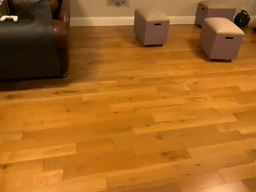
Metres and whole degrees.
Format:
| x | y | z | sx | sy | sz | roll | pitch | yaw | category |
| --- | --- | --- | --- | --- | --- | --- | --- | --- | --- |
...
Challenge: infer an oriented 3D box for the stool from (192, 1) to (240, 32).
| x | y | z | sx | sy | sz | roll | pitch | yaw | category |
| --- | --- | --- | --- | --- | --- | --- | --- | --- | --- |
| 1.850 | -1.690 | 4.510 | 0.700 | 0.520 | 0.430 | -4 | 36 | -11 | stool |

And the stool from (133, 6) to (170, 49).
| x | y | z | sx | sy | sz | roll | pitch | yaw | category |
| --- | --- | --- | --- | --- | --- | --- | --- | --- | --- |
| 0.370 | -1.190 | 3.640 | 0.380 | 0.530 | 0.600 | -6 | 37 | -15 | stool |

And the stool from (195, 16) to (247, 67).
| x | y | z | sx | sy | sz | roll | pitch | yaw | category |
| --- | --- | --- | --- | --- | --- | --- | --- | --- | --- |
| 1.380 | -0.850 | 3.270 | 0.410 | 0.530 | 0.670 | 3 | 35 | -2 | stool |

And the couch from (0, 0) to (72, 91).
| x | y | z | sx | sy | sz | roll | pitch | yaw | category |
| --- | --- | --- | --- | --- | --- | --- | --- | --- | --- |
| -1.330 | -1.020 | 3.000 | 0.980 | 0.780 | 2.170 | -4 | 36 | -12 | couch |
